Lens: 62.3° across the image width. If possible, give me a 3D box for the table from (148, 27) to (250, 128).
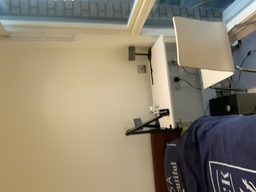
[{"bbox_3d":[0.630,-0.150,2.010,0.380,0.740,0.850,137,131,-75],"label":"table"}]
